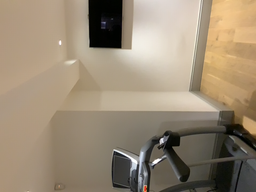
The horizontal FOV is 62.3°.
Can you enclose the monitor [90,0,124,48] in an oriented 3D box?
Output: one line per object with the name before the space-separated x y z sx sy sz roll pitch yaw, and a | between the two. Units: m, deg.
monitor | -0.320 -1.190 3.230 0.050 0.500 0.890 -111 22 -73
